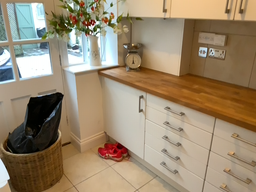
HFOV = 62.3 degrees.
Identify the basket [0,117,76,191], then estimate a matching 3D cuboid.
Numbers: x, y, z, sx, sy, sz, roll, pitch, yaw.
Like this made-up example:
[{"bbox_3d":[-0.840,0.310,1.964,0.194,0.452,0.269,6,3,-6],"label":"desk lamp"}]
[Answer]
[{"bbox_3d":[-0.860,0.530,1.980,0.520,0.380,0.510,-16,28,-35],"label":"basket"}]
